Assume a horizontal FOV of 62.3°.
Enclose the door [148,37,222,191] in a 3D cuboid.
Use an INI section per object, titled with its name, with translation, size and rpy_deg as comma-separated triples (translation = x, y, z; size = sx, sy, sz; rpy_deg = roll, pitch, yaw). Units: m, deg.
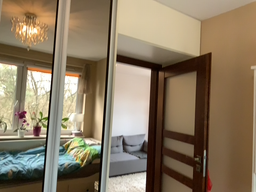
[door]
translation = 0.520, 0.550, 2.190
size = 0.120, 2.080, 0.920
rpy_deg = 5, -4, -22
